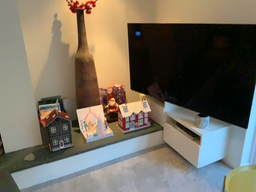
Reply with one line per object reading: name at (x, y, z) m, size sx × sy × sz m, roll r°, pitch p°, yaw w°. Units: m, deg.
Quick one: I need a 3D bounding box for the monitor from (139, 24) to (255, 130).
monitor at (0.560, -0.270, 2.090) m, size 0.040 × 0.820 × 1.280 m, roll -18°, pitch 26°, yaw -35°
